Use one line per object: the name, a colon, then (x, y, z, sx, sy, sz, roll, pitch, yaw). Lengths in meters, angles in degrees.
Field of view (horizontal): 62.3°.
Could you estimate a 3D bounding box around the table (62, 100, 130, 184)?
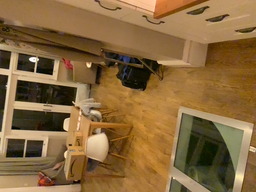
table: (-0.740, 0.780, 4.210, 1.720, 0.730, 1.000, 23, 104, 63)
